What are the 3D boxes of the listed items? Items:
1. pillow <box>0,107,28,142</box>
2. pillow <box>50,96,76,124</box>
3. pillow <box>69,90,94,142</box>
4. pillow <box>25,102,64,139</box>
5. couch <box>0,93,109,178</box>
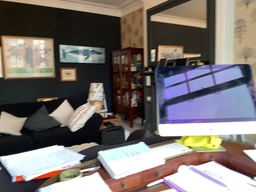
[{"bbox_3d":[-1.800,0.430,3.250,0.410,0.430,0.170,-10,-33,-27],"label":"pillow"},{"bbox_3d":[-1.120,0.230,3.660,0.340,0.400,0.170,-11,-31,-25],"label":"pillow"},{"bbox_3d":[-0.780,0.330,3.480,0.200,0.590,0.620,-11,-31,-25],"label":"pillow"},{"bbox_3d":[-1.390,0.390,3.500,0.500,0.530,0.160,-7,-29,-31],"label":"pillow"},{"bbox_3d":[-1.530,0.510,3.350,2.120,0.860,1.160,-6,8,-32],"label":"couch"}]
